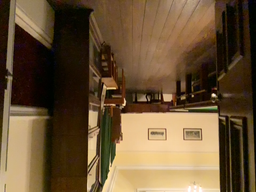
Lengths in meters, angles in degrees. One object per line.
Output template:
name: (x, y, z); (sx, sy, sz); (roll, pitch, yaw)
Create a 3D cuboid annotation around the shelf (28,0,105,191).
shelf: (-0.480, 0.130, 1.950); (0.370, 1.870, 0.900); (1, 176, 2)
